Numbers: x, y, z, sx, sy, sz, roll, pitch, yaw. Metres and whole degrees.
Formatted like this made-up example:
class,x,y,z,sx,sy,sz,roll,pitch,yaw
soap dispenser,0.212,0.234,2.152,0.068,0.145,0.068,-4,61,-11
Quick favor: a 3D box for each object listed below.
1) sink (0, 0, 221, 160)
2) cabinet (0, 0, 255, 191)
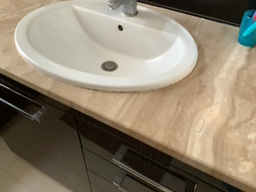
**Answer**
class,x,y,z,sx,sy,sz,roll,pitch,yaw
sink,-0.070,-0.150,0.720,0.610,0.150,0.470,23,49,18
cabinet,-0.100,0.110,1.000,1.090,0.810,0.560,23,49,18
